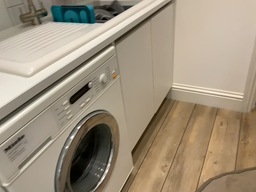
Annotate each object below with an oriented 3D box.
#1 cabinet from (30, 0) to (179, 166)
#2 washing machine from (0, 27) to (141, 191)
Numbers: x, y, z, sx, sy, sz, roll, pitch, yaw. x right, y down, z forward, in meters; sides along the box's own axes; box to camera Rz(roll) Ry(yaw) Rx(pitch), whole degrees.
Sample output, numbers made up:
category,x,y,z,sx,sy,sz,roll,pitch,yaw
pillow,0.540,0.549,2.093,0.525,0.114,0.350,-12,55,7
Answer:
category,x,y,z,sx,sy,sz,roll,pitch,yaw
cabinet,-0.050,-0.170,1.550,0.570,0.870,0.800,13,39,27
washing machine,-0.380,0.210,1.050,0.620,0.870,0.630,13,39,27
